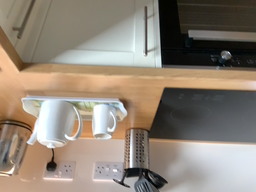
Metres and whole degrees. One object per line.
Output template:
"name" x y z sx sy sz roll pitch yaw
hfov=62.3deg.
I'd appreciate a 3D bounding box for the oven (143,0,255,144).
"oven" 0.410 -0.300 1.120 0.590 0.930 0.600 2 151 -1
